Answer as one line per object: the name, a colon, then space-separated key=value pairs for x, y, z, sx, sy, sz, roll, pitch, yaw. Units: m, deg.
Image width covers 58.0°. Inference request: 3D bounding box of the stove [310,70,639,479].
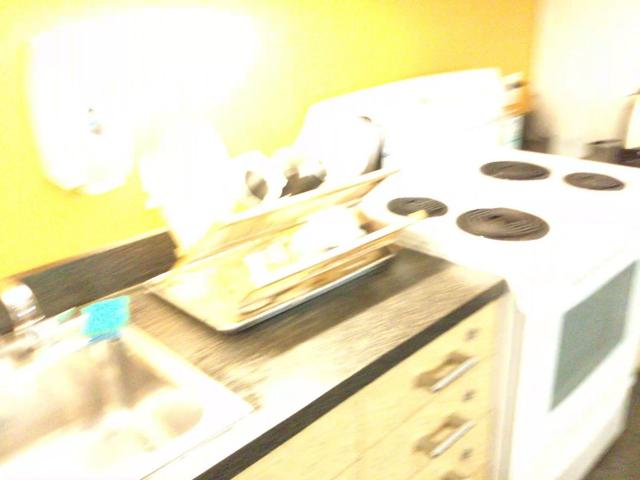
stove: x=0.470 y=0.160 z=1.650 sx=0.750 sy=1.180 sz=0.650 roll=-16 pitch=26 yaw=-38
